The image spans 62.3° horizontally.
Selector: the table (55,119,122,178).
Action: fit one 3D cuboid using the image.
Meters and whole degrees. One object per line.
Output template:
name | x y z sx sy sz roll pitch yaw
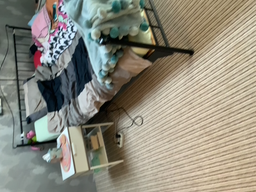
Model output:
table | -0.450 0.570 2.340 0.430 0.530 0.470 -40 59 49
